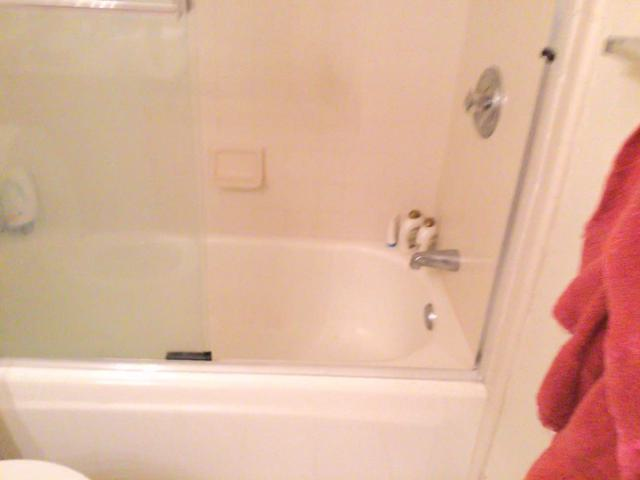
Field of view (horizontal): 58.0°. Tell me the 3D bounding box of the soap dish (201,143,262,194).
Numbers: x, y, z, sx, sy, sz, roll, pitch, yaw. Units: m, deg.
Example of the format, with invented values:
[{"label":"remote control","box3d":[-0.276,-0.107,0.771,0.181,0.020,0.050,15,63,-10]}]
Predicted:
[{"label":"soap dish","box3d":[-0.280,-0.230,1.860,0.180,0.140,0.080,1,26,-1]}]
